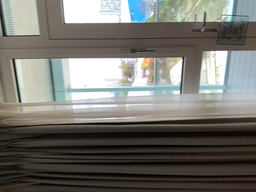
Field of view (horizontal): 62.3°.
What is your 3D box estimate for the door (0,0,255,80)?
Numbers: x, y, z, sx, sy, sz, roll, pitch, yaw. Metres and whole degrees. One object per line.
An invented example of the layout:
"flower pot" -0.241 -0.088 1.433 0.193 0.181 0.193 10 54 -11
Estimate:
"door" 0.330 -0.650 1.440 0.060 2.560 1.070 -98 8 -73
